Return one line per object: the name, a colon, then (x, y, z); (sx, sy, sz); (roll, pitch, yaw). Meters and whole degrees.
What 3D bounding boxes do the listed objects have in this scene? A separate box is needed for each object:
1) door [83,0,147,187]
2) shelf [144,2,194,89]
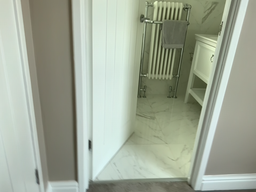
door: (-0.040, -0.460, 1.320); (0.060, 1.990, 0.760); (12, 25, 19)
shelf: (0.460, -0.570, 2.520); (0.430, 0.980, 0.150); (1, 23, -6)
